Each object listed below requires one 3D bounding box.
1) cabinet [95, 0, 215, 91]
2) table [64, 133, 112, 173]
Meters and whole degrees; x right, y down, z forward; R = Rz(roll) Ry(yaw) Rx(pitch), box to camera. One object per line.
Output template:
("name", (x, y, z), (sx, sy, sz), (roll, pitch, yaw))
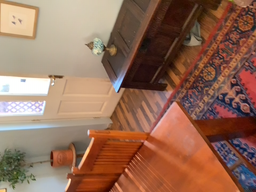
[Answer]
("cabinet", (0.190, -0.620, 1.960), (0.510, 0.570, 1.070), (61, 137, 38))
("table", (-0.610, 0.850, 3.210), (0.380, 0.560, 0.380), (61, 137, 38))
